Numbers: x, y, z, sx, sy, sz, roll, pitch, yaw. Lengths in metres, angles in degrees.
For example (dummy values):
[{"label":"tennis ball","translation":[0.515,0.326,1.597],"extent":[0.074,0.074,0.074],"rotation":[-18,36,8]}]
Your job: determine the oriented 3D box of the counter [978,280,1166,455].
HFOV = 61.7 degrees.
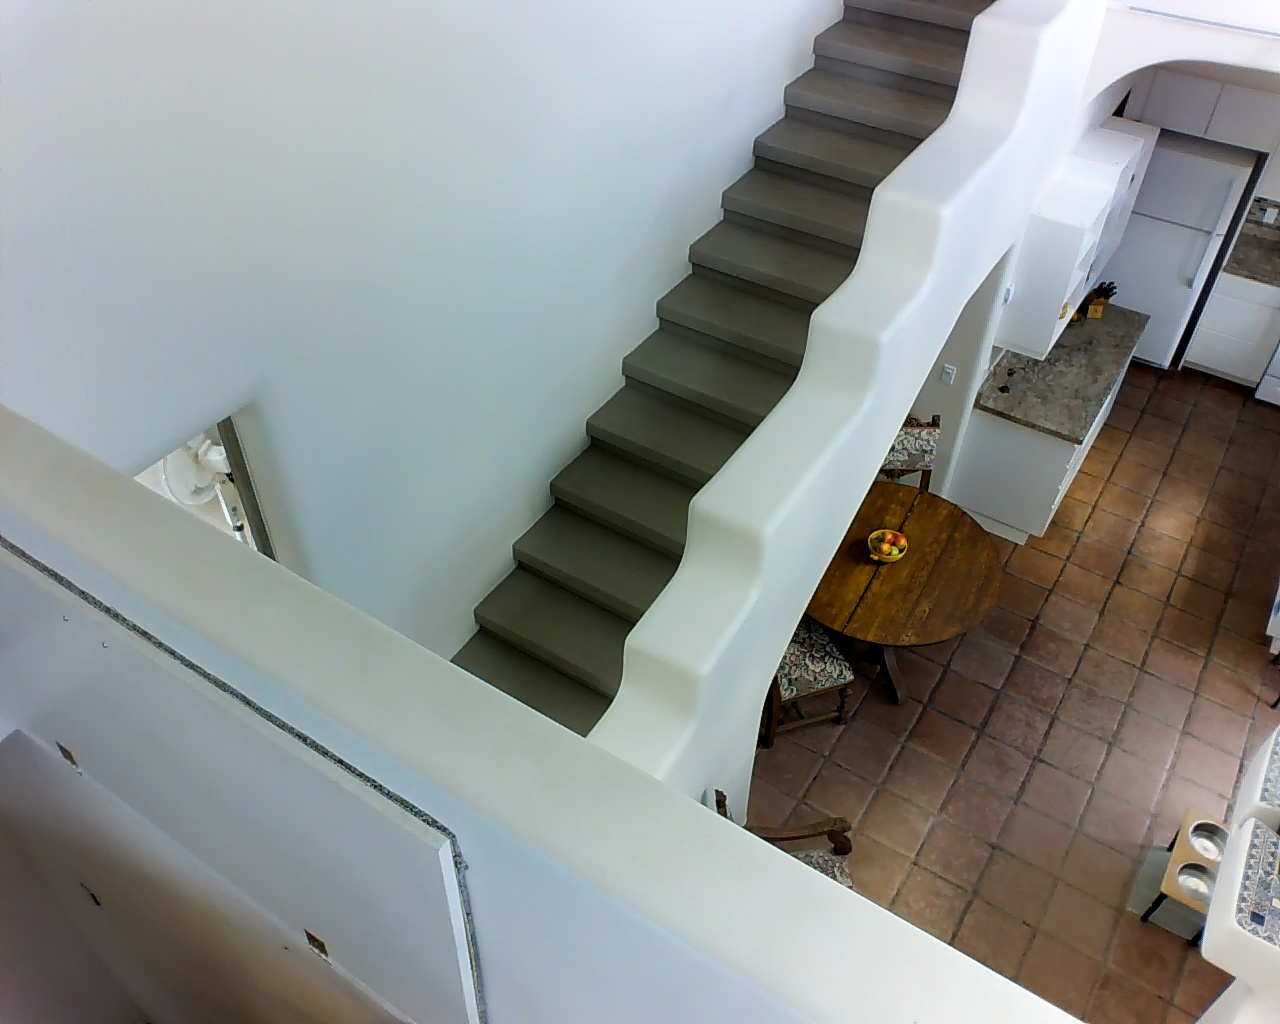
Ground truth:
[{"label":"counter","translation":[2.729,-0.950,6.690],"extent":[0.650,0.150,1.600],"rotation":[25,47,24]}]
